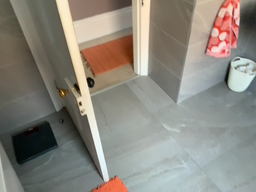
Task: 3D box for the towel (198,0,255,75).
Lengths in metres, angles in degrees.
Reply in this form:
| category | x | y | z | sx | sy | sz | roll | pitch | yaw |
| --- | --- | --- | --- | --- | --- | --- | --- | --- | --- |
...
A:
| category | x | y | z | sx | sy | sz | roll | pitch | yaw |
| --- | --- | --- | --- | --- | --- | --- | --- | --- | --- |
| towel | 0.720 | -0.440 | 1.570 | 0.310 | 0.530 | 0.090 | -24 | 49 | -20 |

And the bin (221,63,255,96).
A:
| category | x | y | z | sx | sy | sz | roll | pitch | yaw |
| --- | --- | --- | --- | --- | --- | --- | --- | --- | --- |
| bin | 1.000 | -0.150 | 1.930 | 0.160 | 0.190 | 0.180 | -24 | 49 | -20 |
